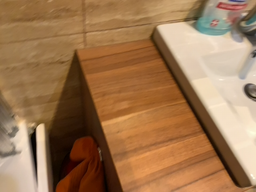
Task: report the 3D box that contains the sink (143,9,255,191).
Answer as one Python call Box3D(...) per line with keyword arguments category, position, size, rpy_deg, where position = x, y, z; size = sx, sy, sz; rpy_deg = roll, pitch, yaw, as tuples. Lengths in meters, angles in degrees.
Box3D(category="sink", position=(0.370, -0.040, 0.560), size=(0.530, 0.120, 0.410), rpy_deg=(-13, 61, -18))
